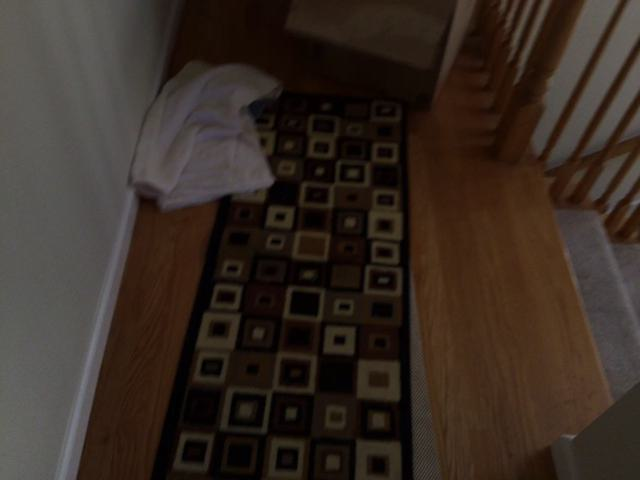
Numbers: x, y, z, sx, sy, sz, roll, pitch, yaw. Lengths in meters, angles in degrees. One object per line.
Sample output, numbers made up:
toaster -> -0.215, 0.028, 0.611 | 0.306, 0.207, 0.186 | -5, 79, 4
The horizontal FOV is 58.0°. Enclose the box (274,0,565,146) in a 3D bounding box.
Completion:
box -> 0.280, -0.890, 1.930 | 0.740, 0.630, 0.980 | 1, 53, 3
